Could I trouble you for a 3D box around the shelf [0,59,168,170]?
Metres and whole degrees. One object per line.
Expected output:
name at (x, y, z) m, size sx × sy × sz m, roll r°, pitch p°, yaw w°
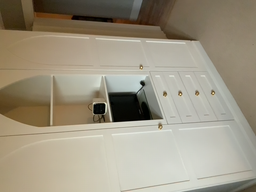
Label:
shelf at (-0.530, 0.150, 1.910) m, size 0.640 × 1.490 × 0.670 m, roll 111°, pitch 151°, yaw -51°
